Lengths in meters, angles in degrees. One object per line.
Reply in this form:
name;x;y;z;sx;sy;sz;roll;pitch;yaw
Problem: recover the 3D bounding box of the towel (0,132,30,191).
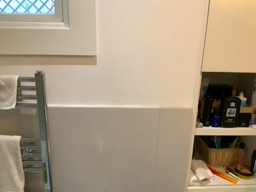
towel;-0.640;0.350;1.020;0.260;0.350;0.100;5;23;-2
